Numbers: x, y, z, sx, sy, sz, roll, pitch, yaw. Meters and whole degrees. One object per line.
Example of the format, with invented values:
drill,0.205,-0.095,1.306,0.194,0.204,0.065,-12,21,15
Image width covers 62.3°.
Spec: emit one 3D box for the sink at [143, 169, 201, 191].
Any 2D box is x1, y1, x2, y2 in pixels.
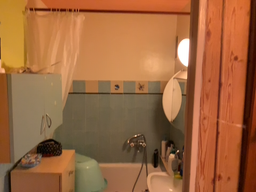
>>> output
sink,0.350,0.810,1.760,0.400,0.190,0.500,0,6,-1
